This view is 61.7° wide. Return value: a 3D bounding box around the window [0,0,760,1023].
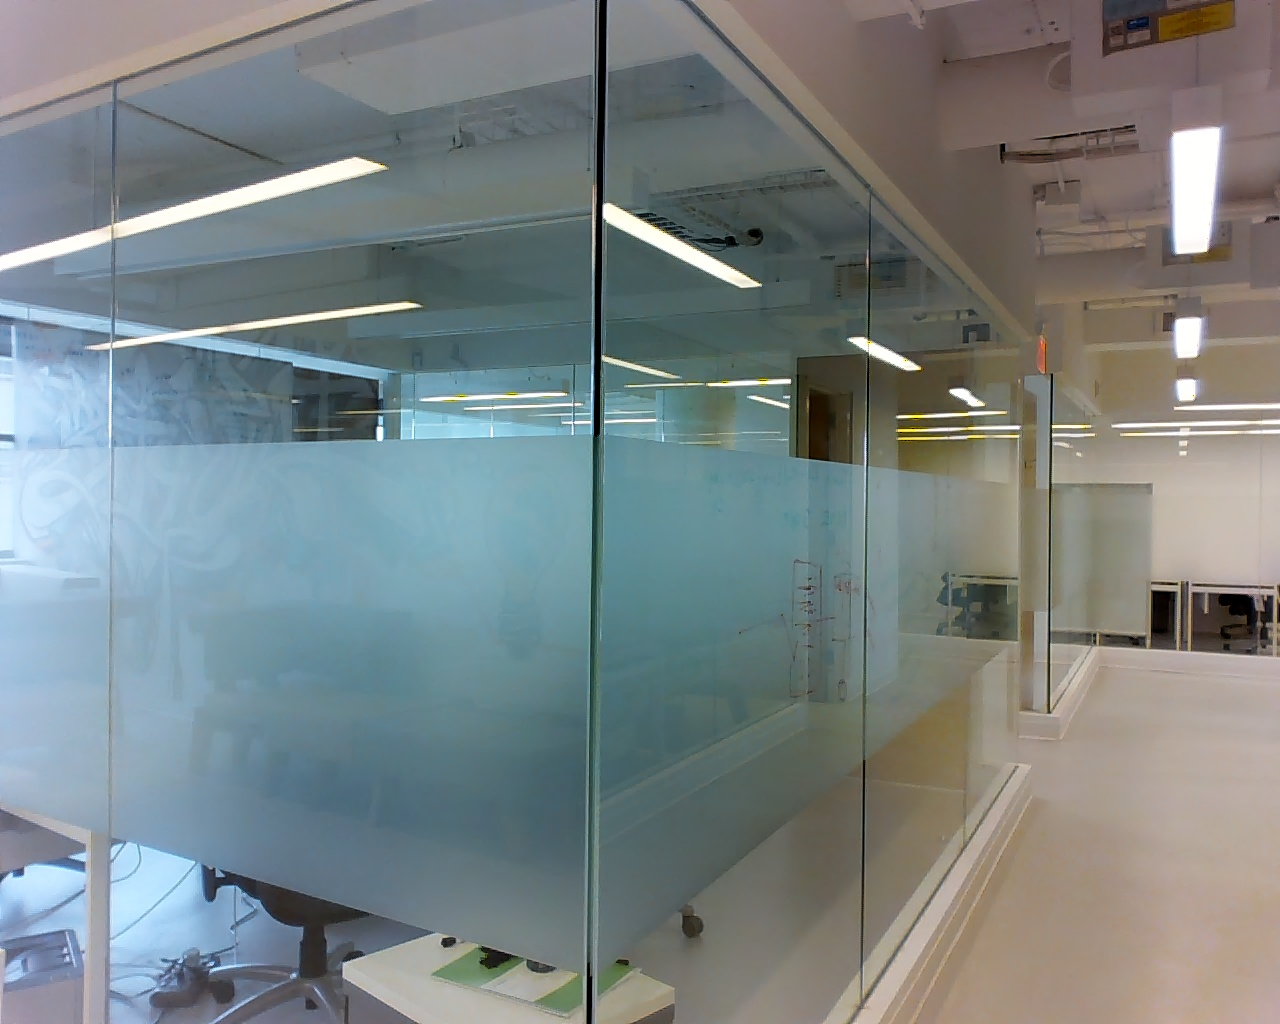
[{"bbox_3d":[-1.020,0.220,2.100,2.490,2.411,0.400,1,0,27],"label":"window"}]
